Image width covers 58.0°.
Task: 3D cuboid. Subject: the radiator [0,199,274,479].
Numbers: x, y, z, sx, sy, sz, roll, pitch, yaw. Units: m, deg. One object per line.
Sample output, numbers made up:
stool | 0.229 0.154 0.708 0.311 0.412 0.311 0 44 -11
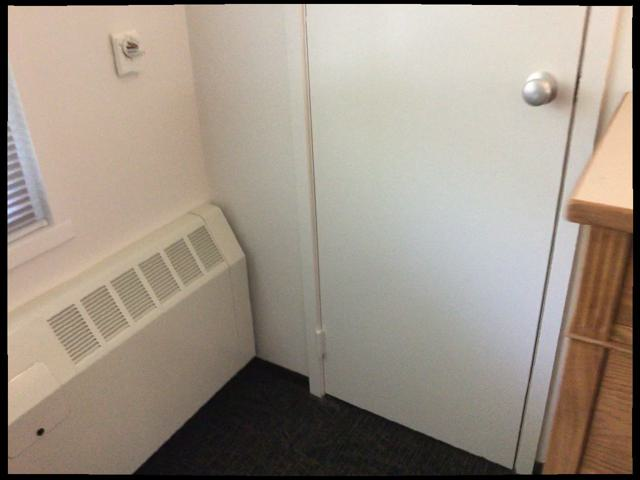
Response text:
radiator | -0.499 0.371 1.560 0.170 0.651 0.920 15 33 30

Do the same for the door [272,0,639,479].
door | 0.250 -0.271 1.310 0.789 1.963 0.080 15 33 30
